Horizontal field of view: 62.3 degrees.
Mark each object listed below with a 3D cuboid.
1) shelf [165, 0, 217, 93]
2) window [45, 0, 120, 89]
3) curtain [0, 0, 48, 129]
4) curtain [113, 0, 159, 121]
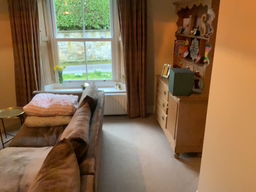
[{"bbox_3d":[0.780,-0.710,2.870,0.190,1.060,1.030,-2,19,-7],"label":"shelf"},{"bbox_3d":[-0.770,-1.060,3.840,1.240,1.880,0.230,0,19,-2],"label":"window"},{"bbox_3d":[-1.700,-0.560,3.340,0.540,2.260,0.270,-2,19,-5],"label":"curtain"},{"bbox_3d":[0.110,-0.690,3.570,0.680,2.310,0.250,-1,19,-4],"label":"curtain"}]
